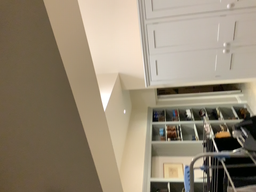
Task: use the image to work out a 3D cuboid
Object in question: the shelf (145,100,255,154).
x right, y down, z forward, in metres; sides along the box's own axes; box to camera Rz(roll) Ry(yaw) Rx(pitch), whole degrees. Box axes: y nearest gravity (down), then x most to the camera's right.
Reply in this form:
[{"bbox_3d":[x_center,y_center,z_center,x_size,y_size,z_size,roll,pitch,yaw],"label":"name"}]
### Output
[{"bbox_3d":[1.490,0.630,4.550,1.270,2.190,0.340,-78,-18,-58],"label":"shelf"}]
